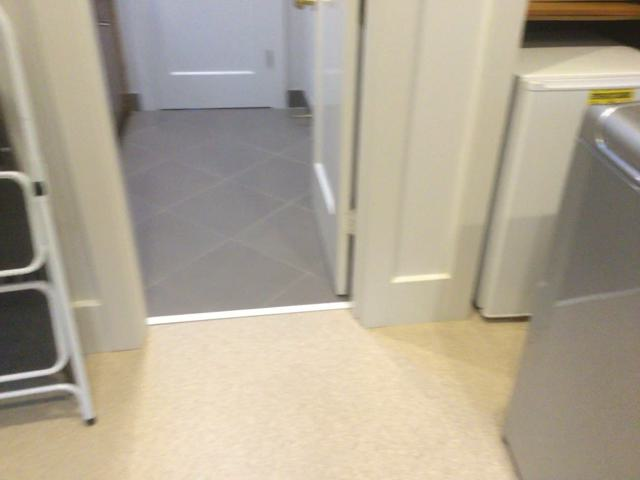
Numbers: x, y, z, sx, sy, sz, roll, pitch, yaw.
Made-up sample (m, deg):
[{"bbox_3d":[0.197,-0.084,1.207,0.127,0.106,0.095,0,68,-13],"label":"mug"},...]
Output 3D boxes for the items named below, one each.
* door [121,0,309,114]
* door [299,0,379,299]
[{"bbox_3d":[-0.540,-1.670,2.920,1.000,2.090,0.070,-4,32,-10],"label":"door"},{"bbox_3d":[0.050,-0.830,1.770,0.080,1.990,0.700,-4,32,-10],"label":"door"}]
